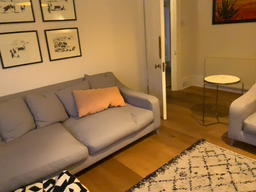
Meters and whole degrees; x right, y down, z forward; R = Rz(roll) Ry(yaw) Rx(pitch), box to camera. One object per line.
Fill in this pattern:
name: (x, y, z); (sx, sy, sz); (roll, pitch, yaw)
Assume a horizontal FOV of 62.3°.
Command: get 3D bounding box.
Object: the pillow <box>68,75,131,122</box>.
pillow: (-0.330, 0.050, 2.620); (0.700, 0.350, 0.130); (24, 5, -37)
